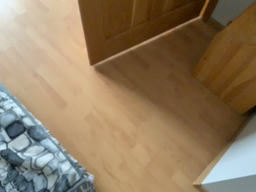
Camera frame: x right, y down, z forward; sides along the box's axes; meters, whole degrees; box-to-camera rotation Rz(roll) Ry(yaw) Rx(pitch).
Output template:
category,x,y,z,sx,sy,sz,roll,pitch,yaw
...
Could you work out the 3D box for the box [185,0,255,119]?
category,x,y,z,sx,sy,sz,roll,pitch,yaw
box,0.720,-0.250,1.240,0.470,0.440,0.460,41,69,14
